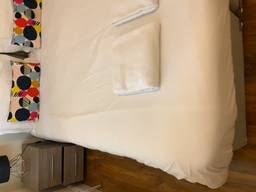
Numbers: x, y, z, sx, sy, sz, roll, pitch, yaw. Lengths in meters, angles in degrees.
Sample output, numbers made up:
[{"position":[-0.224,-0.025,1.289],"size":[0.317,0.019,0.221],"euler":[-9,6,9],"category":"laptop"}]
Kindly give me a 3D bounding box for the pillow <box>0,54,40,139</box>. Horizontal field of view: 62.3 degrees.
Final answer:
[{"position":[-1.150,0.010,2.040],"size":[0.250,0.530,0.770],"euler":[174,98,-68],"category":"pillow"}]

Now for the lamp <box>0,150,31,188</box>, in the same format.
[{"position":[-1.200,0.700,2.050],"size":[0.270,0.400,0.260],"euler":[-2,87,44],"category":"lamp"}]

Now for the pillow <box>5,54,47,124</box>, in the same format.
[{"position":[-0.970,-0.050,2.020],"size":[0.220,0.330,0.610],"euler":[-10,79,60],"category":"pillow"}]

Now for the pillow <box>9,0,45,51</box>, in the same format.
[{"position":[-0.970,-0.780,2.050],"size":[0.170,0.280,0.620],"euler":[-6,83,59],"category":"pillow"}]
